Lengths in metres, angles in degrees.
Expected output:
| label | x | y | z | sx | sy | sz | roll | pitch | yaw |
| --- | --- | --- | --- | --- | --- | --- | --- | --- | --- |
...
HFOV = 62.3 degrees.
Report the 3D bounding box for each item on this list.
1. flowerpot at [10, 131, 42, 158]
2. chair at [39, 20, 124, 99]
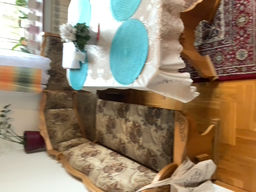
| label | x | y | z | sx | sy | sz | roll | pitch | yaw |
| --- | --- | --- | --- | --- | --- | --- | --- | --- | --- |
| flowerpot | -1.090 | 0.510 | 2.270 | 0.230 | 0.260 | 0.200 | 5 | 93 | 52 |
| chair | -0.550 | -0.350 | 2.510 | 0.580 | 0.800 | 0.750 | 1 | 90 | 52 |
